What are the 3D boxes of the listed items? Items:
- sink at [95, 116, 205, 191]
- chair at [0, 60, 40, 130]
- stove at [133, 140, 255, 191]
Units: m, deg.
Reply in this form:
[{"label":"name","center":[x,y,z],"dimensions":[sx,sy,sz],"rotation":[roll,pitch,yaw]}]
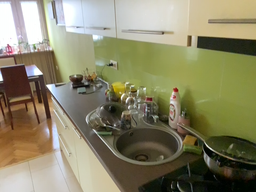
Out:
[{"label":"sink","center":[0.110,0.340,1.260],"dimensions":[0.460,0.190,0.450],"rotation":[-13,23,-27]},{"label":"chair","center":[-1.740,-0.040,3.400],"dimensions":[0.410,0.960,0.530],"rotation":[-11,22,-23]},{"label":"stove","center":[0.400,0.390,0.770],"dimensions":[0.540,0.040,0.580],"rotation":[-13,23,-27]}]
